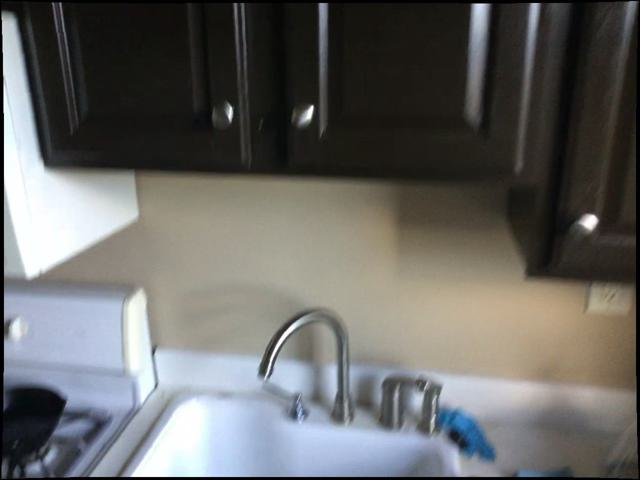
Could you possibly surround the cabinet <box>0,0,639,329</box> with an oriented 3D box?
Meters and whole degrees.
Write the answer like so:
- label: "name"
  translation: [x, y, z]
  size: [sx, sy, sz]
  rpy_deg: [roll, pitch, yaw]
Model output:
- label: "cabinet"
  translation: [-0.150, -0.351, 0.910]
  size: [2.095, 0.822, 0.340]
  rpy_deg: [3, 20, 8]
